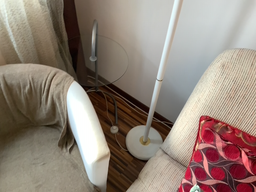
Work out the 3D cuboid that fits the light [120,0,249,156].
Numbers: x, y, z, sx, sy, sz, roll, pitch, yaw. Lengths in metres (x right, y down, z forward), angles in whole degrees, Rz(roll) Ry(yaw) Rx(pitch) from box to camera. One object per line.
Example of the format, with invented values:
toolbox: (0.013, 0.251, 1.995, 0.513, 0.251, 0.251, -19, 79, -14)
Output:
light: (0.260, -0.260, 0.970, 0.280, 1.450, 0.390, 35, 54, 20)
